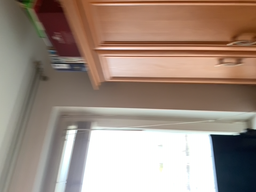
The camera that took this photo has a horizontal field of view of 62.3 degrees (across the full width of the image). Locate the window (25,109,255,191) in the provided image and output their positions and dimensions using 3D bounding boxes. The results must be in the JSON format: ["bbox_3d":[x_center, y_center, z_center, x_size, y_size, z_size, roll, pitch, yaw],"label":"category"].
[{"bbox_3d":[0.140,0.810,1.370,0.110,1.680,1.460,87,-174,-62],"label":"window"}]
